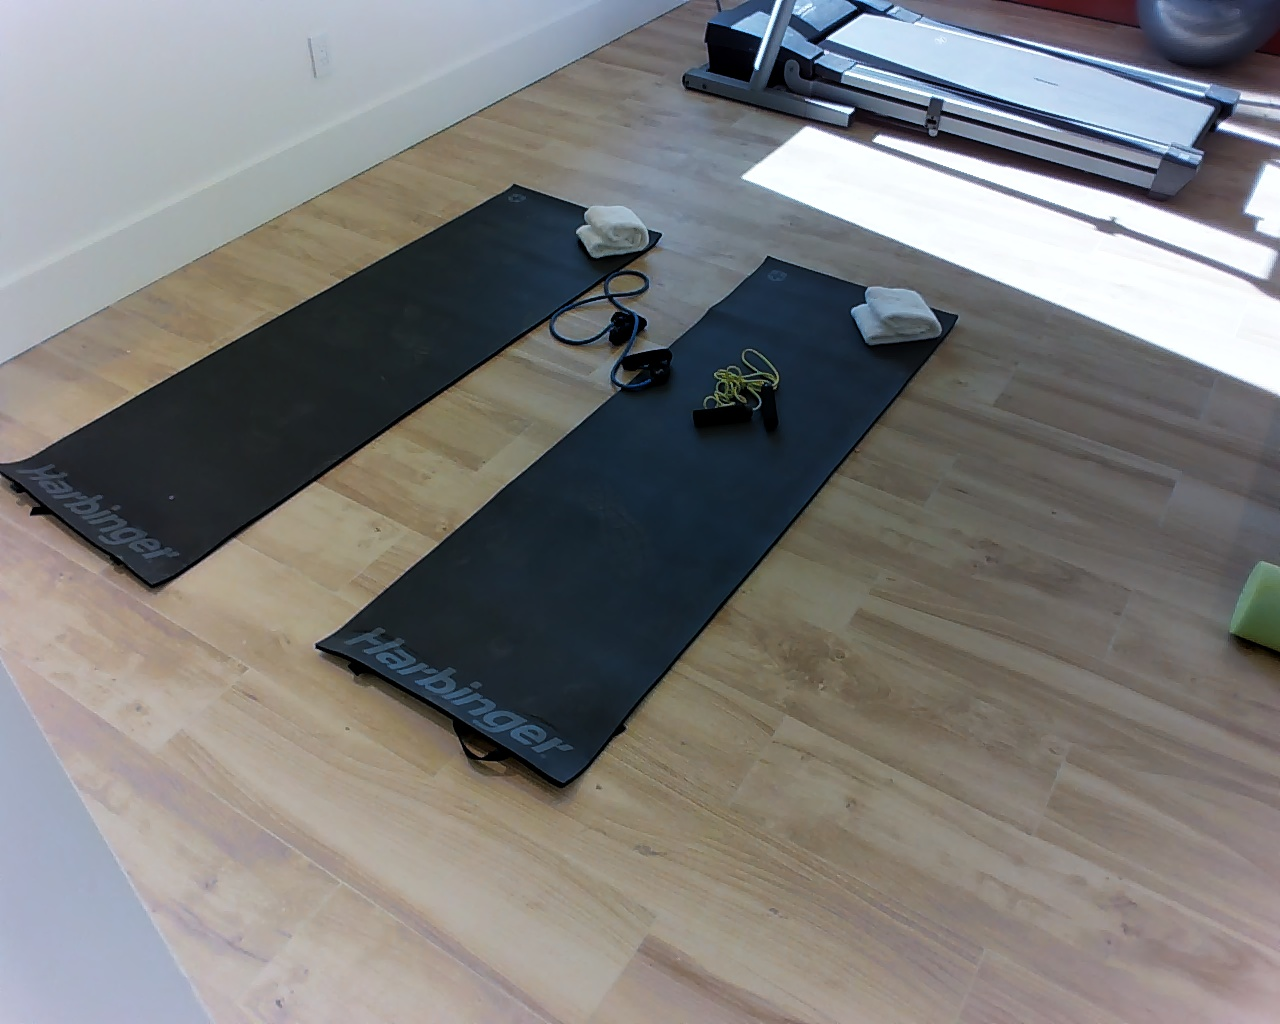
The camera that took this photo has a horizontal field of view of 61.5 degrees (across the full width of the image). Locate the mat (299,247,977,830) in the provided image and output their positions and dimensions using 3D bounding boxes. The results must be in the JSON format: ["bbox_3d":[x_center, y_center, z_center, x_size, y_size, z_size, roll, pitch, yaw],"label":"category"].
[{"bbox_3d":[0.140,-0.130,2.480,0.640,0.020,1.880,24,47,23],"label":"mat"}]

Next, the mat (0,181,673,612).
[{"bbox_3d":[-0.680,-0.440,2.810,0.620,0.020,1.850,25,48,24],"label":"mat"}]
